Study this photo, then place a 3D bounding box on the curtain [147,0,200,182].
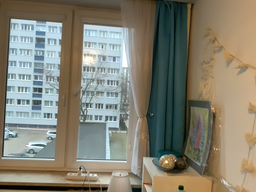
[{"bbox_3d":[0.400,-0.100,1.890,0.340,1.680,0.140,3,0,-4],"label":"curtain"}]
